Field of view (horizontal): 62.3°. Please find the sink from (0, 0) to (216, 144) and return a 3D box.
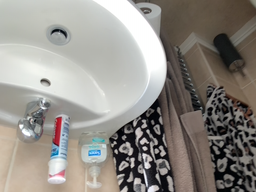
[{"bbox_3d":[-0.170,-0.120,0.520,0.560,0.200,0.440,21,134,-30],"label":"sink"}]
